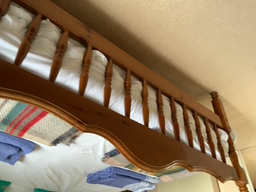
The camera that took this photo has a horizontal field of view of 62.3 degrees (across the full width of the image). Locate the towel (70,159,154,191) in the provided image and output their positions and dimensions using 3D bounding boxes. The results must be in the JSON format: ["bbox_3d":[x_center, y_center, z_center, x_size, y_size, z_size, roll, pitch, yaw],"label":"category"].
[{"bbox_3d":[-0.110,0.600,1.560,0.510,0.060,0.330,26,135,-31],"label":"towel"}]

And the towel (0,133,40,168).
[{"bbox_3d":[-0.720,0.280,1.130,0.370,0.050,0.300,28,134,-32],"label":"towel"}]
